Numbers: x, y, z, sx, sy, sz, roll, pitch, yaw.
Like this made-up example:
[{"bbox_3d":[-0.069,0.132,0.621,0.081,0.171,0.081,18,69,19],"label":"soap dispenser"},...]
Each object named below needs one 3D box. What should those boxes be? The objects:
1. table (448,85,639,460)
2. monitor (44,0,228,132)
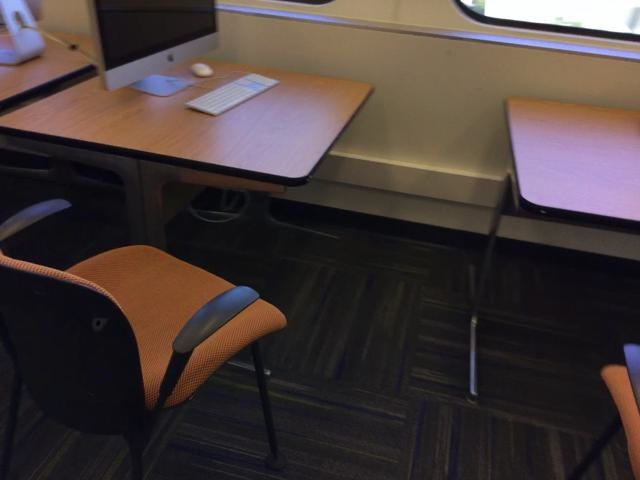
[{"bbox_3d":[1.000,0.050,1.810,1.040,0.740,0.970,8,30,11],"label":"table"},{"bbox_3d":[-0.530,-0.720,1.810,0.190,0.530,0.740,8,30,11],"label":"monitor"}]
